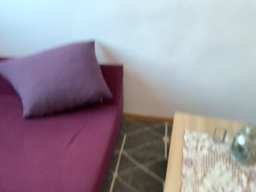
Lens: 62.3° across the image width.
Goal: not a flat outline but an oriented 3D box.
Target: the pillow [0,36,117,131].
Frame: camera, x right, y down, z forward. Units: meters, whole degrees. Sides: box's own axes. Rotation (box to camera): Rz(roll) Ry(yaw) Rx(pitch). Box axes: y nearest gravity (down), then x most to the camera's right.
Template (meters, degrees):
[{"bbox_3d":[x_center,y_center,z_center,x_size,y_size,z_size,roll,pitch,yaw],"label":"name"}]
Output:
[{"bbox_3d":[-0.490,-0.150,1.580,0.650,0.320,0.670,-11,35,-14],"label":"pillow"}]
